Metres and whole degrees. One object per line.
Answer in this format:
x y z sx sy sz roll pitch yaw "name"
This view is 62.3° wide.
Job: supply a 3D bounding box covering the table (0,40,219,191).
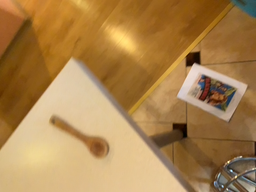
-0.130 0.380 0.900 0.910 0.850 0.430 -48 70 14 "table"
